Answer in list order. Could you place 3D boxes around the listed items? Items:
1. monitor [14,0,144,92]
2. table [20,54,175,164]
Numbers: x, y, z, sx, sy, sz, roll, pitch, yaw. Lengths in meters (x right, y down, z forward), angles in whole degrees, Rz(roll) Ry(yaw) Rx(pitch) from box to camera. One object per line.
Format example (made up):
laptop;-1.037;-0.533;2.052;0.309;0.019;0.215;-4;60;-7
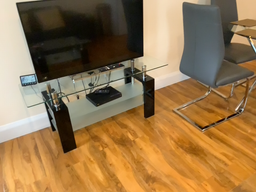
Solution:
monitor;-0.290;-0.450;1.690;0.960;0.620;0.060;-18;34;-25
table;-0.210;0.030;1.950;1.260;0.470;0.460;-20;35;-27
